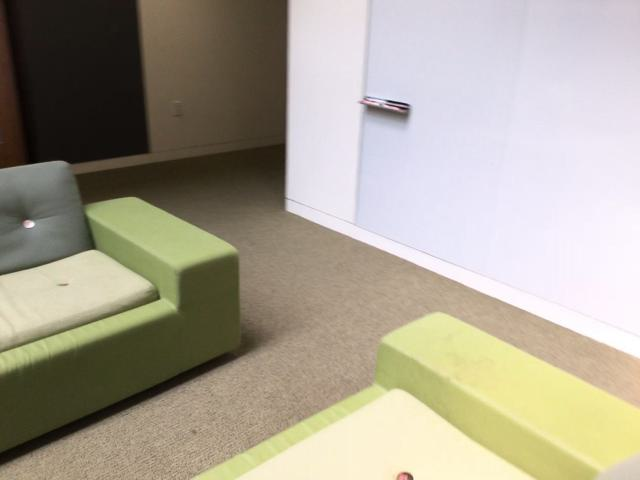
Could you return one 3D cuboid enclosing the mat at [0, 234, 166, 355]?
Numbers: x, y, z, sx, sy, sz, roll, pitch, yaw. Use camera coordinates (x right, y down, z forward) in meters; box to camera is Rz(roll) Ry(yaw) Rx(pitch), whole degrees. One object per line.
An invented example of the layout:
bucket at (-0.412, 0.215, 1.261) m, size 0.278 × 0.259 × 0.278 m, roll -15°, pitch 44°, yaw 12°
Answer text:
mat at (-1.200, 0.250, 1.740) m, size 0.490 × 0.080 × 1.380 m, roll 24°, pitch 29°, yaw 37°
